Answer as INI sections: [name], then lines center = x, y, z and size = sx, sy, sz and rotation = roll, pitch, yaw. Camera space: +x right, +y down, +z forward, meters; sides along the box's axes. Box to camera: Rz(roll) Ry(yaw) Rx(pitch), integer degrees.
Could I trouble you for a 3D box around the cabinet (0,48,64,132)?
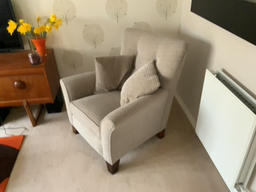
[cabinet]
center = -1.510, -0.030, 2.160
size = 1.510, 0.690, 0.470
rotation = -5, 32, -6
